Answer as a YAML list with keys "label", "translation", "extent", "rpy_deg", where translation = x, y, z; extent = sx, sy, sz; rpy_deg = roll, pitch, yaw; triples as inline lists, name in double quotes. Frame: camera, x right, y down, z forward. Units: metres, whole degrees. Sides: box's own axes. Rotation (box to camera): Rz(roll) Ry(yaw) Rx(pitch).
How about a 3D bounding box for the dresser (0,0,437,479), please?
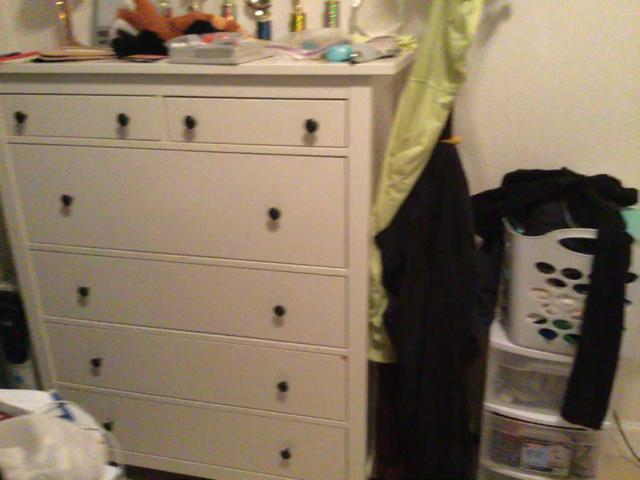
- label: "dresser"
  translation: [-0.310, 0.100, 1.740]
  extent: [1.210, 1.410, 0.540]
  rpy_deg: [0, 20, 17]

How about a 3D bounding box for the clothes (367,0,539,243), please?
- label: "clothes"
  translation: [0.300, -0.380, 1.320]
  extent: [0.200, 0.670, 0.340]
  rpy_deg: [-15, 15, 21]
